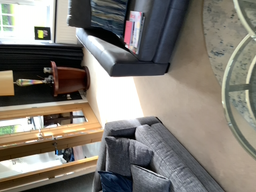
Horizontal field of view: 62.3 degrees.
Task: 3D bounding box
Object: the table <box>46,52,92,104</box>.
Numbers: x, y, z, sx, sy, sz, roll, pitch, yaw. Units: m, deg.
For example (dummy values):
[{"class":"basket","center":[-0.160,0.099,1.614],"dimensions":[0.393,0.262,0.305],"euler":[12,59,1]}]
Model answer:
[{"class":"table","center":[-1.180,-0.370,4.140],"dimensions":[0.710,0.660,0.710],"euler":[50,135,44]}]
